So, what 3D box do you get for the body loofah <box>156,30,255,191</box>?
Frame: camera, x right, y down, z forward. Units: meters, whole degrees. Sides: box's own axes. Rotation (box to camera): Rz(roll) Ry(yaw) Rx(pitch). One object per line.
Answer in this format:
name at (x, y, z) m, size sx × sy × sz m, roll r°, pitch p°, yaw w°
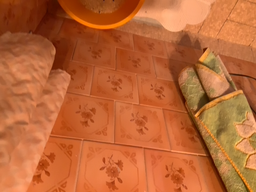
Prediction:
body loofah at (0.260, 0.070, 0.580) m, size 0.250 × 0.770 × 0.100 m, roll 10°, pitch 132°, yaw -11°
